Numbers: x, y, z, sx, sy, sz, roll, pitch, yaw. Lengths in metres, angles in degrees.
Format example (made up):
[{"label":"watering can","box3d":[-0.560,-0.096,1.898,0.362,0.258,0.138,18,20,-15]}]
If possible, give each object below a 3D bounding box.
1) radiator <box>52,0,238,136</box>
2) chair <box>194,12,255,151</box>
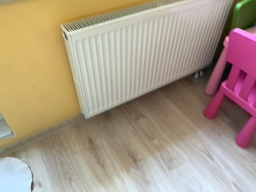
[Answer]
[{"label":"radiator","box3d":[0.190,-0.290,1.410,1.170,0.750,0.190,-26,51,-23]},{"label":"chair","box3d":[0.770,-0.090,1.280,0.400,0.660,0.410,-25,51,-23]}]
